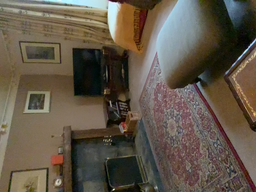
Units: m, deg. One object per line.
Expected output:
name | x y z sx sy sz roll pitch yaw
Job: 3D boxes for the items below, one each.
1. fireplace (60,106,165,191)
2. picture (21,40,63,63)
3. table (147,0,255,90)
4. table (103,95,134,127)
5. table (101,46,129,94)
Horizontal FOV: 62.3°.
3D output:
fireplace | -0.300 1.030 2.960 0.610 1.220 1.750 106 156 -45
picture | -1.630 -0.840 4.080 0.030 0.710 0.450 -108 23 -44
table | 0.500 -0.470 1.700 0.770 0.370 0.570 124 142 -63
table | -0.190 0.270 4.000 0.230 0.450 0.560 106 156 -45
table | -0.270 -0.500 4.230 0.370 0.460 0.900 180 89 -73
